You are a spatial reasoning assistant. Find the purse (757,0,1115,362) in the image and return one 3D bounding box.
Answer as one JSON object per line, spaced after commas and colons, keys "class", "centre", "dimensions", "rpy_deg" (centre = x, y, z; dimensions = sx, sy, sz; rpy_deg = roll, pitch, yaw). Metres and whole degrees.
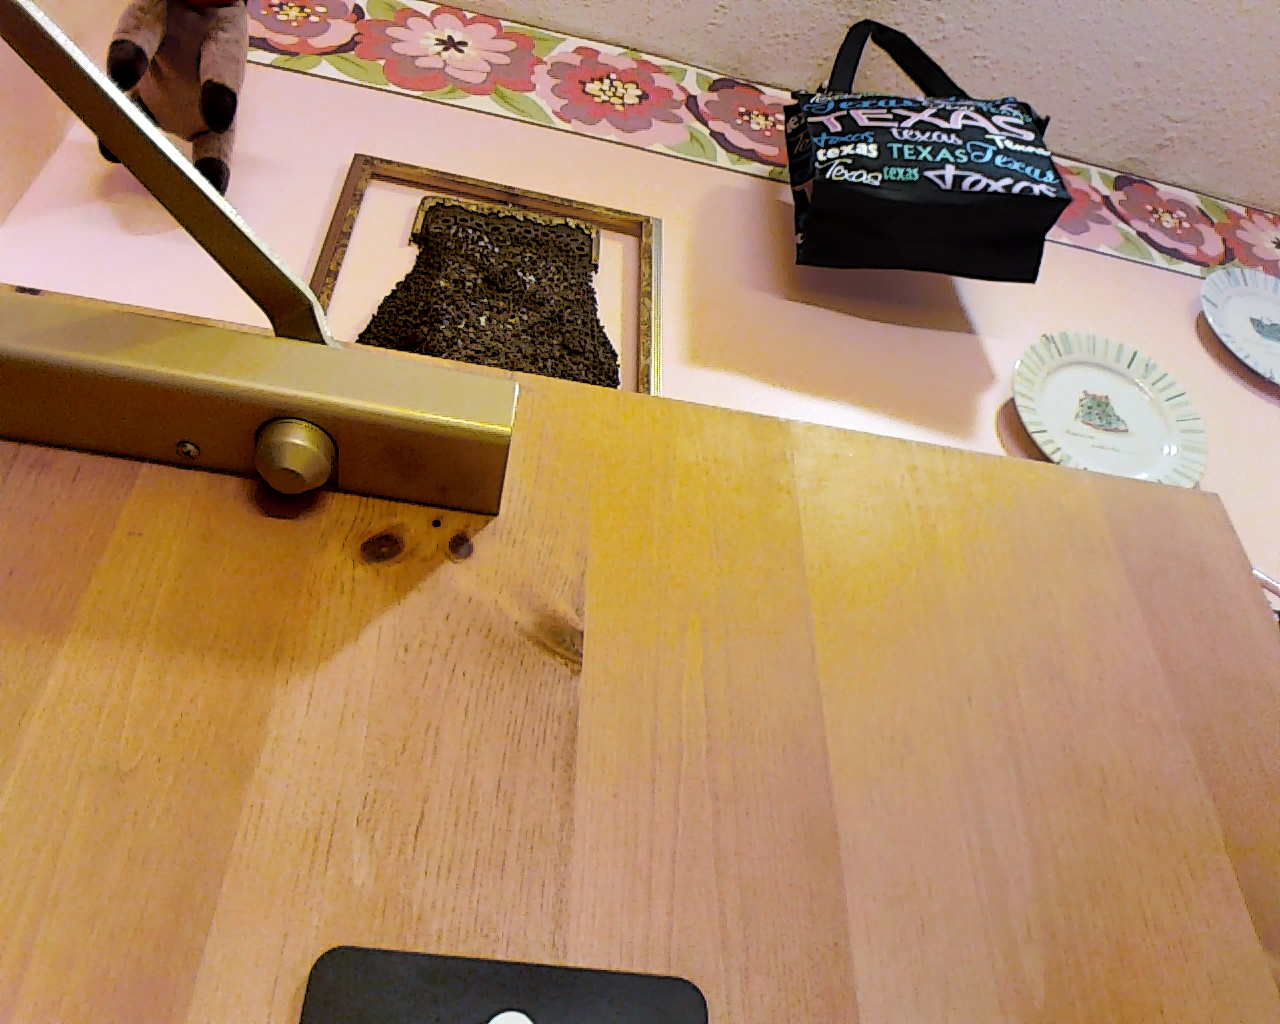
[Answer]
{"class": "purse", "centre": [0.300, -0.400, 1.200], "dimensions": [0.270, 0.430, 0.180], "rpy_deg": [10, -43, -9]}
